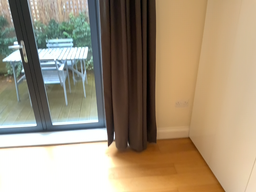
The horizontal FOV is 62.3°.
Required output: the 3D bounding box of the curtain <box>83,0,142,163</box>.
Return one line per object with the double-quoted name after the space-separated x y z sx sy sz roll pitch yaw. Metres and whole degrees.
-0.110 -0.440 1.770 0.430 2.400 0.210 -3 26 -4 "curtain"
